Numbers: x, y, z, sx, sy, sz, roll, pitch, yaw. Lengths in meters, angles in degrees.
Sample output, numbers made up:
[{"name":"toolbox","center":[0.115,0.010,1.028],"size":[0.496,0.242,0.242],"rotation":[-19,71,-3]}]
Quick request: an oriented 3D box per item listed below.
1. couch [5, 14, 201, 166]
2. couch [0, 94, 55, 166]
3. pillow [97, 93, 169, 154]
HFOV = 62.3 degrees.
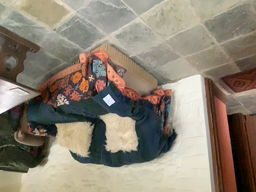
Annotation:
[{"name":"couch","center":[-0.290,0.180,2.090],"size":[1.580,0.850,0.980],"rotation":[-17,149,40]},{"name":"couch","center":[-1.820,0.560,3.230],"size":[0.920,0.830,1.090],"rotation":[3,157,1]},{"name":"pillow","center":[0.040,0.250,1.850],"size":[0.560,0.420,0.150],"rotation":[-21,123,41]}]
